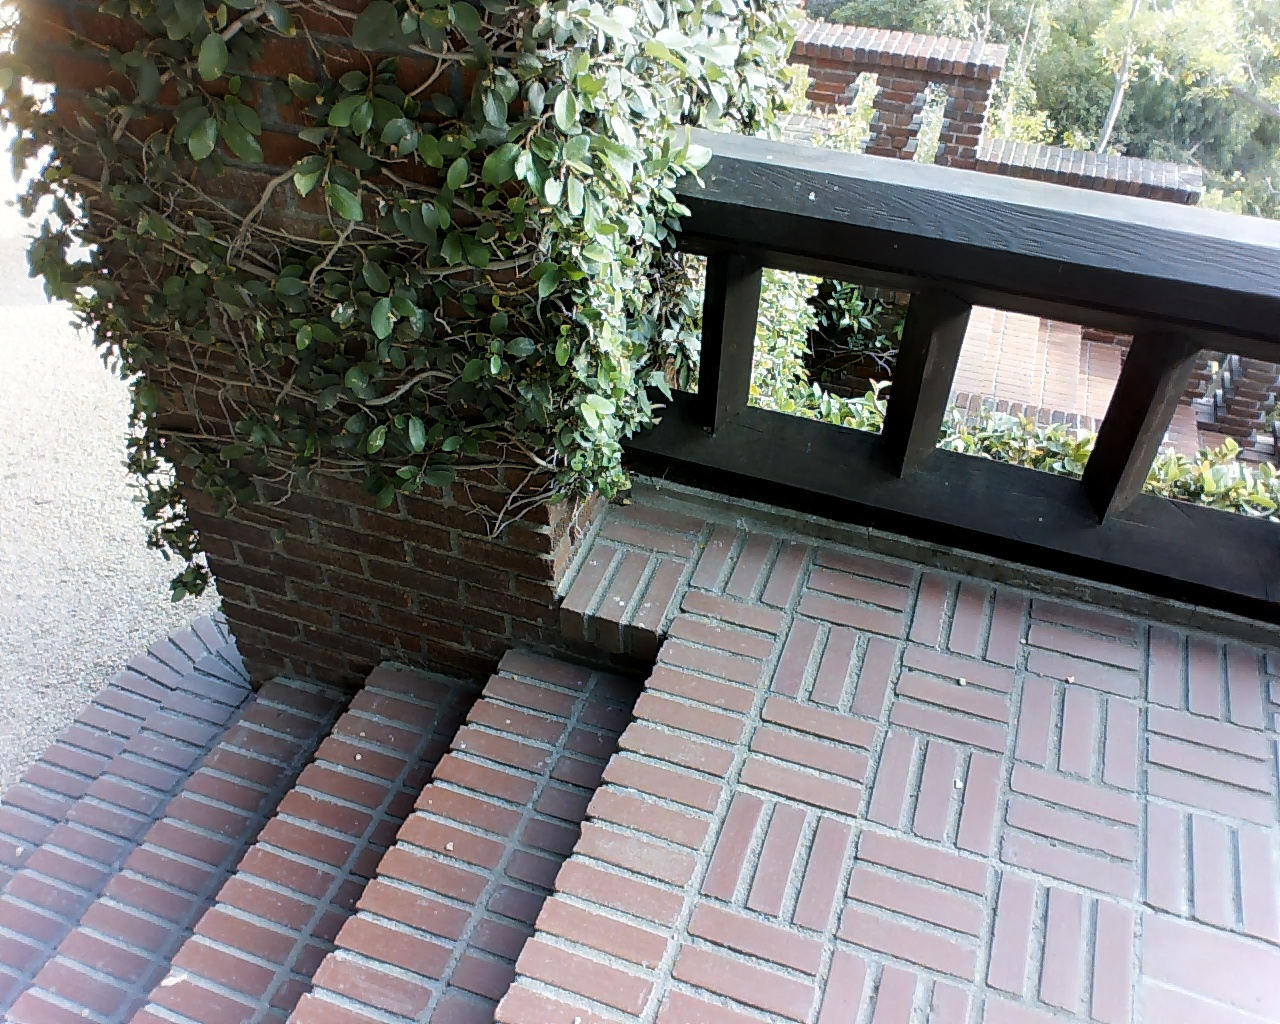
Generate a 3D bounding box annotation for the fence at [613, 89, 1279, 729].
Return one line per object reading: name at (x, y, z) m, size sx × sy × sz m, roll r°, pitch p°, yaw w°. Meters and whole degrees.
fence at (1.490, 0.020, 1.740) m, size 3.140 × 0.840 × 0.390 m, roll 14°, pitch 42°, yaw 15°
